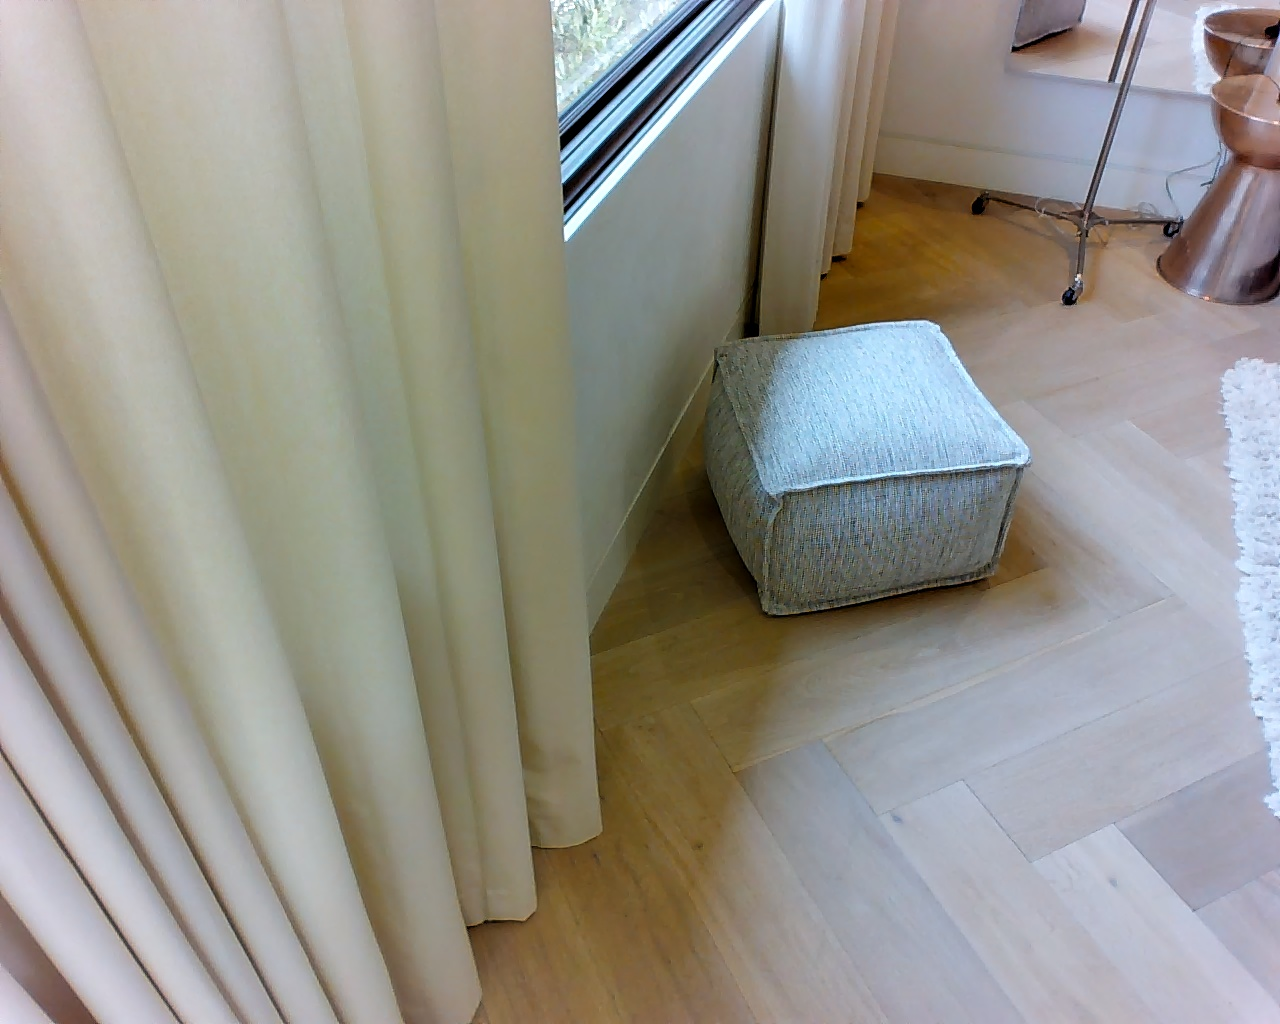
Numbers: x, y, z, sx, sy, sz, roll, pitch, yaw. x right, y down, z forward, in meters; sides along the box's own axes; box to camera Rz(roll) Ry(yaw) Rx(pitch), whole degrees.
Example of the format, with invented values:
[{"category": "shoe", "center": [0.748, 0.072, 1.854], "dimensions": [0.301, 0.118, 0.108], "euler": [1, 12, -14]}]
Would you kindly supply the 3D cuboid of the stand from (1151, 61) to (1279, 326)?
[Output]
[{"category": "stand", "center": [1.870, -0.960, 3.230], "dimensions": [0.440, 0.580, 0.490], "euler": [13, 43, 14]}]
